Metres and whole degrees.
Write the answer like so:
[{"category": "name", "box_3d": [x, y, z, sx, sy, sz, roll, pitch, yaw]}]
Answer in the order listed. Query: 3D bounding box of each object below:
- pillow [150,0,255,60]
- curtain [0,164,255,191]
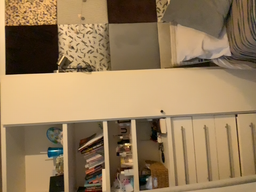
[{"category": "pillow", "box_3d": [0.600, -0.780, 1.770, 0.610, 0.580, 0.470, -54, 16, 32]}, {"category": "curtain", "box_3d": [0.180, 0.740, 1.600, 0.370, 2.560, 0.250, 133, 135, -84]}]
